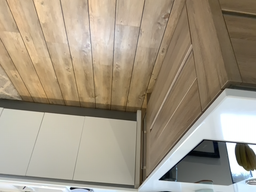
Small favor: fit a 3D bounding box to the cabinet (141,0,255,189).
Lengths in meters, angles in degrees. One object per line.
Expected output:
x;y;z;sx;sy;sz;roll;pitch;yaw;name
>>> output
0.500;0.070;1.530;0.610;0.910;1.150;6;148;-5;cabinet
